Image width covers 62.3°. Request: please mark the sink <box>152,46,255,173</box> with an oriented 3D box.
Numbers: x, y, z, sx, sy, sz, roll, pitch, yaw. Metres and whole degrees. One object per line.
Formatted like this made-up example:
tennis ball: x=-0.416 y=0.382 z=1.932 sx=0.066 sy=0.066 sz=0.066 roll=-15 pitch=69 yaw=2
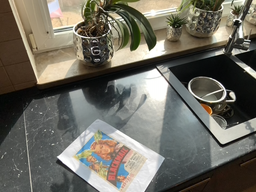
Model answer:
sink: x=0.440 y=0.020 z=1.050 sx=0.430 sy=0.210 sz=0.530 roll=-16 pitch=48 yaw=-16
